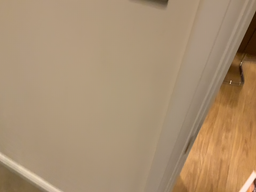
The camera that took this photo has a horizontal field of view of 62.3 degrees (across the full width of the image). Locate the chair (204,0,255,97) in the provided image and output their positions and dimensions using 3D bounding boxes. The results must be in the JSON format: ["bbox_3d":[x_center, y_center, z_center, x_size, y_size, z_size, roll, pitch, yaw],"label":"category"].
[{"bbox_3d":[1.350,-0.570,2.500,0.450,0.980,0.590,6,41,-2],"label":"chair"}]
